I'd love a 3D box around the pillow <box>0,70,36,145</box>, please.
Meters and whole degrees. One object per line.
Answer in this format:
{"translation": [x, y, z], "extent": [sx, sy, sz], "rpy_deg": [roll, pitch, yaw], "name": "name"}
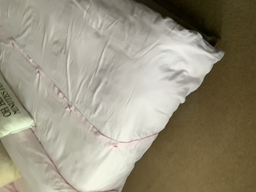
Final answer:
{"translation": [-0.840, 0.030, 1.360], "extent": [0.550, 0.190, 0.160], "rpy_deg": [44, 122, 20], "name": "pillow"}
